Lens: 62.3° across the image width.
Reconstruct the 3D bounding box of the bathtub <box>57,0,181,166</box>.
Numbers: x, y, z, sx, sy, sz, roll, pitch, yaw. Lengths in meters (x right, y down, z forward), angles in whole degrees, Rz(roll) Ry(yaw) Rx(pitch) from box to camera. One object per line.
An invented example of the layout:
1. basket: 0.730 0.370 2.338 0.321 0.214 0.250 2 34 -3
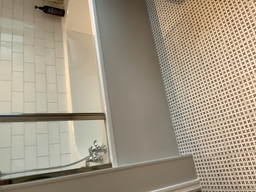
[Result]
1. bathtub: -0.210 -0.400 2.020 0.800 0.620 1.920 -31 63 52
